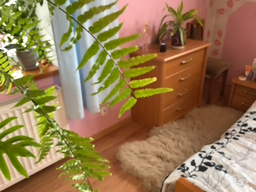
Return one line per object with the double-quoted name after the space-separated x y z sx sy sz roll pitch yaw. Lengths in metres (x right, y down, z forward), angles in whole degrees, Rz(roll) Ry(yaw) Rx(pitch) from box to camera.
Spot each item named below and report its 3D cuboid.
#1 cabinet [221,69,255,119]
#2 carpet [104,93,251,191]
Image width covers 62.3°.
1.390 -0.040 2.520 0.440 0.410 0.310 -24 35 -37 "cabinet"
0.570 0.380 2.170 1.500 0.150 0.680 -23 34 -36 "carpet"
